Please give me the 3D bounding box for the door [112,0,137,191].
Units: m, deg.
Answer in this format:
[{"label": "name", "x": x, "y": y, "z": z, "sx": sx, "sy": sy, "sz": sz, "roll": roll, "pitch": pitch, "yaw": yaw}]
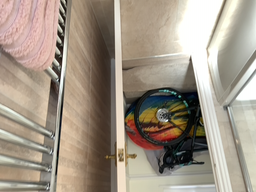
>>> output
[{"label": "door", "x": -0.040, "y": 0.410, "z": 1.270, "sx": 0.090, "sy": 1.980, "sz": 0.820, "roll": -1, "pitch": 157, "yaw": -4}]
